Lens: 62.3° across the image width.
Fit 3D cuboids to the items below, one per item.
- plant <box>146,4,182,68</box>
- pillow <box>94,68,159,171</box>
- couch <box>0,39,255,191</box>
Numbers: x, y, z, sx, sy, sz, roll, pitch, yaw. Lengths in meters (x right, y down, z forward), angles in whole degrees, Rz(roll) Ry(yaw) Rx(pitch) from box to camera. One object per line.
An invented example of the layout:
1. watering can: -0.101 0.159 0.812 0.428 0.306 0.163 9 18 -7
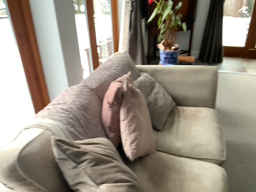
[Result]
1. plant: 0.370 -0.630 2.190 0.290 0.560 0.360 6 29 13
2. pillow: 0.010 0.110 1.320 0.240 0.520 0.400 7 6 19
3. couch: 0.100 0.260 1.420 1.020 0.840 1.710 6 29 13
